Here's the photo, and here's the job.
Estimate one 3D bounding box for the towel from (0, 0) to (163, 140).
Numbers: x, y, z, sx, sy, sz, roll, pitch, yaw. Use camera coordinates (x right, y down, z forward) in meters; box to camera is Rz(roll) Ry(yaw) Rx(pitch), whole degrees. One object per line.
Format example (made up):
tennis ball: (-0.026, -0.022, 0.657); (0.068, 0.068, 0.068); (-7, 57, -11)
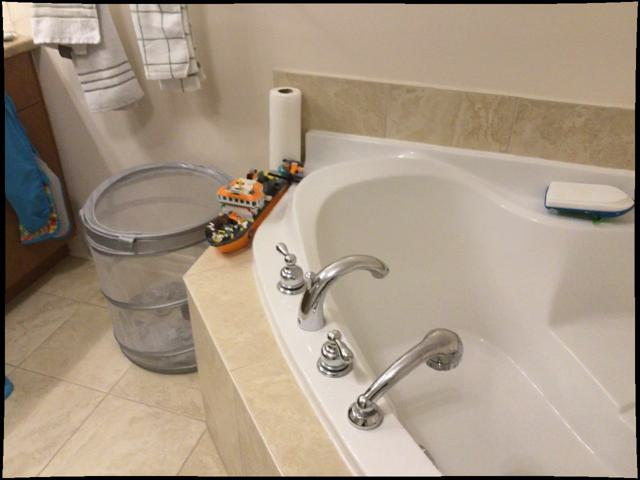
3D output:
towel: (-0.709, -0.581, 1.700); (0.340, 0.500, 0.190); (8, 36, 16)

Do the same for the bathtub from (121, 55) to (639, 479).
bathtub: (0.579, 0.360, 1.140); (1.339, 0.700, 1.970); (-19, 38, -21)

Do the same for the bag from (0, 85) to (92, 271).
bag: (-0.919, -0.190, 1.880); (0.090, 0.560, 0.210); (9, 36, 16)

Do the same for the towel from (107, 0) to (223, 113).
towel: (-0.430, -0.581, 1.610); (0.210, 0.390, 0.170); (9, 36, 16)
